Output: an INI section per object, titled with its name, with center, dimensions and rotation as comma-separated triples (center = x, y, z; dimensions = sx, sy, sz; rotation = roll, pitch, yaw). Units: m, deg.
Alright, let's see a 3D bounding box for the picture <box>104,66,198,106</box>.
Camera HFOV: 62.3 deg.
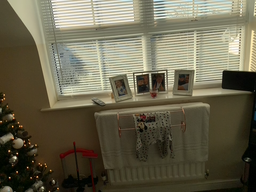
[picture]
center = 0.190, -0.090, 1.820
dimensions = 0.760, 0.240, 0.170
rotation = -5, 16, 0
